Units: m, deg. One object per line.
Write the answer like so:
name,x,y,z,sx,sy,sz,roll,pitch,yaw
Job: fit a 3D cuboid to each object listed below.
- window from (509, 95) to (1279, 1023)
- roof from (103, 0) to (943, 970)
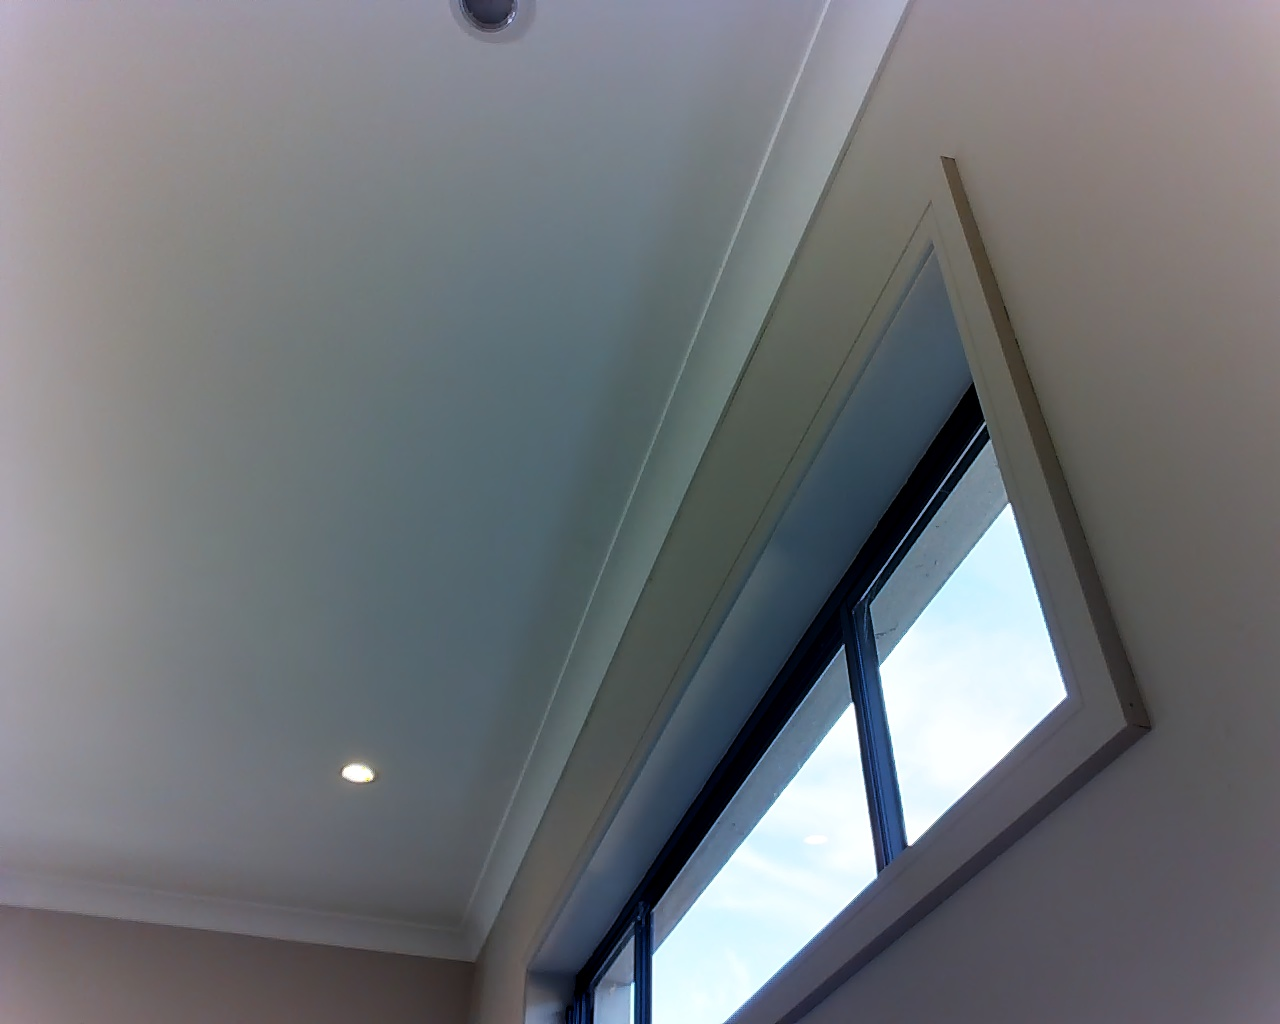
window,0.170,0.740,1.840,0.380,2.540,0.980,12,47,-10
roof,-0.480,0.060,2.290,1.050,4.651,0.130,12,47,-10
